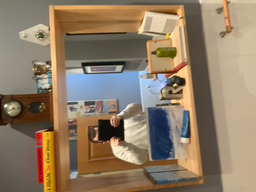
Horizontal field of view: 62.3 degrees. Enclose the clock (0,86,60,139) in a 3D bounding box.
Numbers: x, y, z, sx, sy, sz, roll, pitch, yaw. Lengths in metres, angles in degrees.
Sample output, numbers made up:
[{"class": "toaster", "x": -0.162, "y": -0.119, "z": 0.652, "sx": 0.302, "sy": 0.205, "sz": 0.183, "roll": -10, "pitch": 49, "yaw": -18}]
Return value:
[{"class": "clock", "x": -0.440, "y": 0.070, "z": 0.900, "sx": 0.090, "sy": 0.270, "sz": 0.200, "roll": 142, "pitch": 124, "yaw": -80}]
